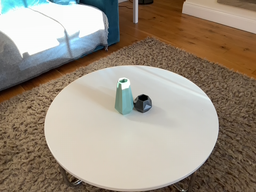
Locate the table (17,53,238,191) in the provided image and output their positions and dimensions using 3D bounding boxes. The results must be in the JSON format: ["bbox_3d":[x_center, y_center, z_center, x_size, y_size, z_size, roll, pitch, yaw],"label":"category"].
[{"bbox_3d":[-0.020,0.190,1.290,0.840,0.350,0.900,-31,48,-31],"label":"table"}]
